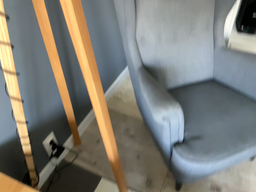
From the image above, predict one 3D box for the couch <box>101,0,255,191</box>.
[{"bbox_3d":[0.400,-0.120,1.160,0.820,0.980,0.940,-14,42,-15],"label":"couch"}]
